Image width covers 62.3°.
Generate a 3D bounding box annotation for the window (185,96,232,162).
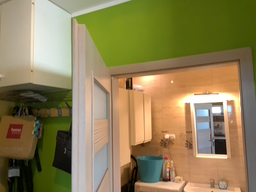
[{"bbox_3d":[1.080,0.430,2.860,0.530,0.820,0.220,-3,-6,22],"label":"window"}]
